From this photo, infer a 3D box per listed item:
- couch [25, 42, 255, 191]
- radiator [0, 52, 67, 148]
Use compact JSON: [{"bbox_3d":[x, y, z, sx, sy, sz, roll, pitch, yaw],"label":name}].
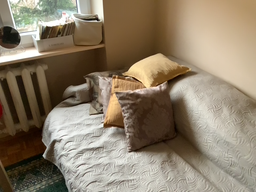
[{"bbox_3d":[0.320,0.430,1.210,1.210,0.730,2.160,-17,36,-26],"label":"couch"},{"bbox_3d":[-0.870,0.030,1.850,0.500,0.690,0.250,-17,35,-26],"label":"radiator"}]
